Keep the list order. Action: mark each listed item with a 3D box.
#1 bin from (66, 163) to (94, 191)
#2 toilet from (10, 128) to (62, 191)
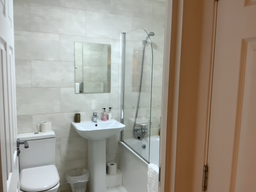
[{"bbox_3d":[-0.580,1.020,2.540,0.260,0.280,0.290,-2,8,-26],"label":"bin"},{"bbox_3d":[-0.930,0.810,2.170,0.410,0.790,0.610,-2,7,-24],"label":"toilet"}]
